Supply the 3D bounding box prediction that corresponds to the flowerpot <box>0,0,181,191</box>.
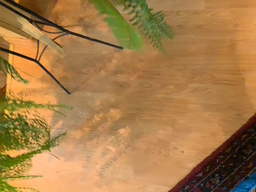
[{"bbox_3d":[-0.340,-0.060,0.420,0.820,1.200,0.620,-2,87,15],"label":"flowerpot"}]
